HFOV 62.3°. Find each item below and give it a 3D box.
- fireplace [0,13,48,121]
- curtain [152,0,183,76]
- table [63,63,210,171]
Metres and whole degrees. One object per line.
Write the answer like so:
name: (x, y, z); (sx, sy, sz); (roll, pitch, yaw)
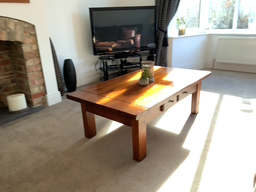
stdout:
fireplace: (-1.670, -0.310, 2.430); (0.450, 1.170, 1.190); (13, 26, 36)
curtain: (0.700, -1.560, 3.830); (0.570, 2.360, 0.130); (14, 26, 38)
table: (0.190, 0.050, 2.240); (0.810, 0.470, 1.410); (14, 26, 37)
